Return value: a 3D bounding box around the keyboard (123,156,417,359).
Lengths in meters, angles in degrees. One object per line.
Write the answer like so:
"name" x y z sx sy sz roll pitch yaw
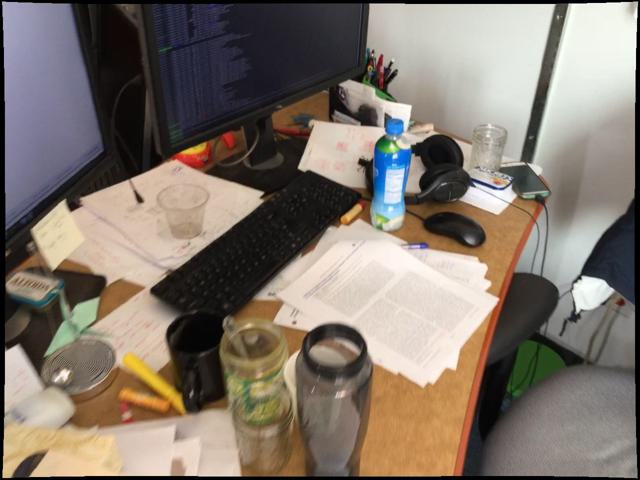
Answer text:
"keyboard" -0.070 0.000 1.050 0.510 0.050 0.210 -31 48 -32

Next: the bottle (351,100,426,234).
"bottle" 0.120 -0.130 1.050 0.080 0.210 0.090 -31 48 -32
